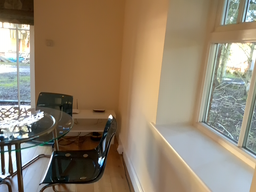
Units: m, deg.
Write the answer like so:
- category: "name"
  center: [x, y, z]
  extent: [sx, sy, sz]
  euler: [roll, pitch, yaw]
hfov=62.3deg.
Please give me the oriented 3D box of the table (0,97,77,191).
- category: "table"
  center: [-1.030, 0.500, 2.010]
  extent: [0.980, 0.770, 0.850]
  euler: [2, 13, -10]
